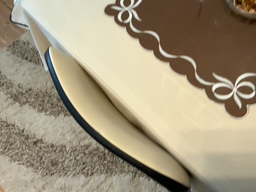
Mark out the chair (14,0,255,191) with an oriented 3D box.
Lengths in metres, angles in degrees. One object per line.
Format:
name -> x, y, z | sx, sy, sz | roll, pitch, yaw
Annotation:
chair -> 0.130, 0.030, 0.860 | 0.570, 0.830, 0.480 | -40, 70, -13
